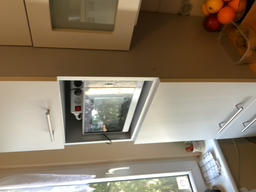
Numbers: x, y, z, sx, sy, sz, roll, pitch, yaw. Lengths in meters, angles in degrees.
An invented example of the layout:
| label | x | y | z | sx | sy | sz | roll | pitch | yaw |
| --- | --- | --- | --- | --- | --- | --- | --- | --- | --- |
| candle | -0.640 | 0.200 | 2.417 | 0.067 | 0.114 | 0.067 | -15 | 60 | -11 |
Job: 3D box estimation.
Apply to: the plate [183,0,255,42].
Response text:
| label | x | y | z | sx | sy | sz | roll | pitch | yaw |
| --- | --- | --- | --- | --- | --- | --- | --- | --- | --- |
| plate | 0.430 | -0.420 | 1.020 | 0.220 | 0.200 | 0.200 | 105 | 160 | -49 |

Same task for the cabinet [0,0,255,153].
| label | x | y | z | sx | sy | sz | roll | pitch | yaw |
| --- | --- | --- | --- | --- | --- | --- | --- | --- | --- |
| cabinet | 0.280 | -0.090 | 1.180 | 0.530 | 2.130 | 0.510 | 106 | 159 | -50 |
